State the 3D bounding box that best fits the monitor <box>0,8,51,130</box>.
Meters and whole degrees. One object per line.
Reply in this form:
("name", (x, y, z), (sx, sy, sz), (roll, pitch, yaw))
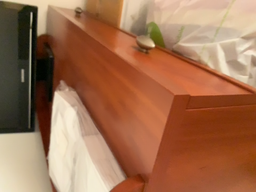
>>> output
("monitor", (-0.530, -0.080, 0.810), (0.030, 0.430, 0.490), (44, 130, 52))
